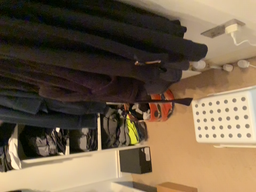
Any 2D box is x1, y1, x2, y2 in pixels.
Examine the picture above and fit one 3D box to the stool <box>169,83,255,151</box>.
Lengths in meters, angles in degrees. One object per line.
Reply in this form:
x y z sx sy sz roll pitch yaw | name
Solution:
0.520 0.130 1.200 0.510 0.250 0.300 -13 77 52 | stool
